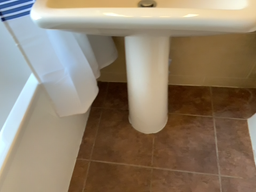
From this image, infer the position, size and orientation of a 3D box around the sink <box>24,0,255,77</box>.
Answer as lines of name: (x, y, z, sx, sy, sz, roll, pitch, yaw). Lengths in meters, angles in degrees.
sink: (0.060, -0.310, 0.660, 0.540, 0.180, 0.460, 4, 56, 7)
